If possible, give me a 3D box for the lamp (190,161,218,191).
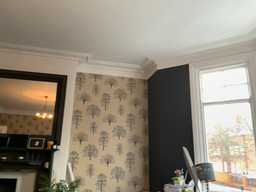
[{"bbox_3d":[1.080,1.170,3.010,0.270,0.450,0.270,-10,-19,36],"label":"lamp"}]
